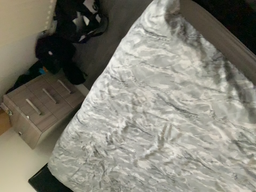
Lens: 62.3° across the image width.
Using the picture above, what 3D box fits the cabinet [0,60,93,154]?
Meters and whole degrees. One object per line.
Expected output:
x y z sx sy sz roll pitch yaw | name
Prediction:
-0.850 0.120 2.200 0.470 0.670 0.640 45 140 1 | cabinet
